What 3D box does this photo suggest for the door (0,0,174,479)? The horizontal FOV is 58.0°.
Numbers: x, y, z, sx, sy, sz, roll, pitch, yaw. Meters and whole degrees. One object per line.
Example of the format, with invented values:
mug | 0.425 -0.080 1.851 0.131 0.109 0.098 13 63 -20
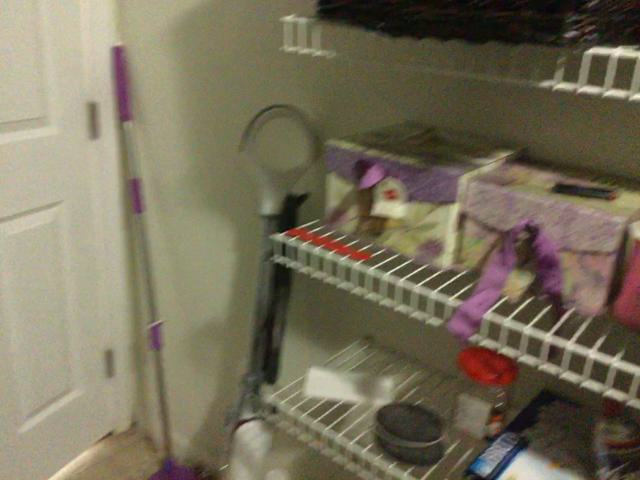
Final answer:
door | -0.730 -0.200 1.260 0.150 2.060 0.850 20 26 34
